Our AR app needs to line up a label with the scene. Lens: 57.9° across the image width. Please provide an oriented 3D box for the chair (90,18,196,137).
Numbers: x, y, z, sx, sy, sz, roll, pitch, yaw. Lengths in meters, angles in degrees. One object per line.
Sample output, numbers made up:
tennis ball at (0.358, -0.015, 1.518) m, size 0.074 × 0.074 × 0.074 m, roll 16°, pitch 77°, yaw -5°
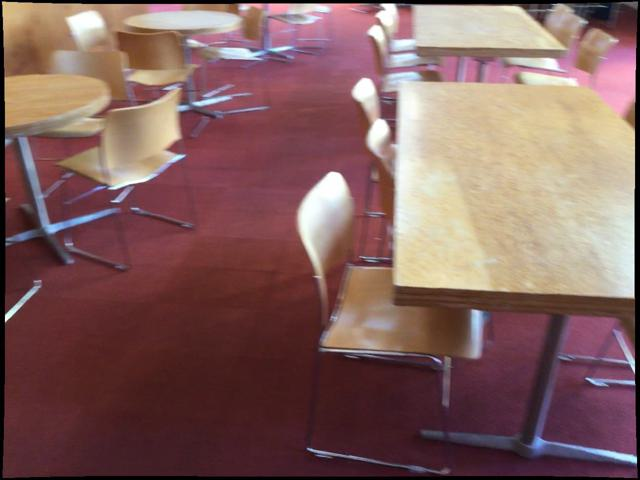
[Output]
chair at (-1.209, -1.141, 4.050) m, size 0.500 × 0.711 × 0.400 m, roll 3°, pitch 31°, yaw 5°

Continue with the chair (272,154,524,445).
chair at (0.210, 0.170, 1.800) m, size 0.609 × 0.701 × 0.500 m, roll 3°, pitch 31°, yaw 5°

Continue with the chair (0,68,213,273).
chair at (-1.009, -0.360, 2.700) m, size 0.729 × 0.650 × 0.600 m, roll 14°, pitch 34°, yaw 22°
